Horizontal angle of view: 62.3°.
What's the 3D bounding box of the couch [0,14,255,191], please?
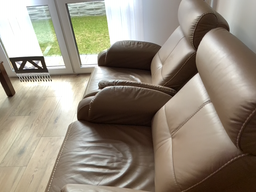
[{"bbox_3d":[0.050,0.240,1.030,0.950,0.980,0.750,-2,36,4],"label":"couch"}]
